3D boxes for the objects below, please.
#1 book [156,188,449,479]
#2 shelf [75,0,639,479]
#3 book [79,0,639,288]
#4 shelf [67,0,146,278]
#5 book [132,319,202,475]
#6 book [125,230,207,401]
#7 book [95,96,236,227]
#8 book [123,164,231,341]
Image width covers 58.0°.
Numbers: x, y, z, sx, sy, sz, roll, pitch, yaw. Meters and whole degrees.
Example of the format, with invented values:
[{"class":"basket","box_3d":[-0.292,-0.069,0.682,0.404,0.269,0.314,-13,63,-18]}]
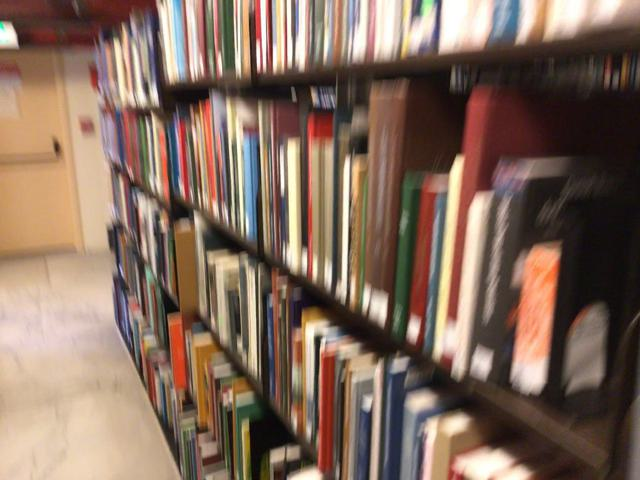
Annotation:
[{"class":"book","box_3d":[-0.160,0.160,1.580,0.310,0.390,1.180,-7,17,-25]},{"class":"shelf","box_3d":[-0.040,0.270,1.410,0.450,1.830,5.350,-7,17,-25]},{"class":"book","box_3d":[-0.500,-0.640,1.920,0.230,0.500,3.500,-7,17,-25]},{"class":"shelf","box_3d":[-1.840,-0.880,4.950,0.310,2.130,1.160,-7,17,-25]},{"class":"book","box_3d":[-0.710,0.680,2.640,0.150,0.410,0.660,-7,17,-25]},{"class":"book","box_3d":[-0.760,0.340,2.820,0.240,0.650,0.530,-7,17,-25]},{"class":"book","box_3d":[-0.820,-0.460,2.810,0.320,0.430,1.560,-7,17,-25]},{"class":"book","box_3d":[-0.660,0.000,2.570,0.240,0.550,0.880,-7,17,-25]}]
